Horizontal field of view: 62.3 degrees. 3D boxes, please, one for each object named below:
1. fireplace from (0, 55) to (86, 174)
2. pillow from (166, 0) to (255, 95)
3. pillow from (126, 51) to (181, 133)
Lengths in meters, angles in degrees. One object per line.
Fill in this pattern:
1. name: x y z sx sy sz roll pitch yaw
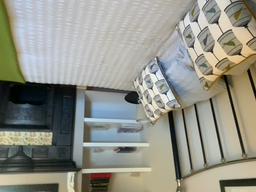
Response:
1. fireplace: -1.170 0.220 2.430 1.270 1.240 0.430 4 157 -16
2. pillow: 0.400 -0.290 0.980 0.190 0.380 0.410 6 136 -19
3. pillow: 0.160 -0.020 1.610 0.170 0.390 0.470 5 132 -18
